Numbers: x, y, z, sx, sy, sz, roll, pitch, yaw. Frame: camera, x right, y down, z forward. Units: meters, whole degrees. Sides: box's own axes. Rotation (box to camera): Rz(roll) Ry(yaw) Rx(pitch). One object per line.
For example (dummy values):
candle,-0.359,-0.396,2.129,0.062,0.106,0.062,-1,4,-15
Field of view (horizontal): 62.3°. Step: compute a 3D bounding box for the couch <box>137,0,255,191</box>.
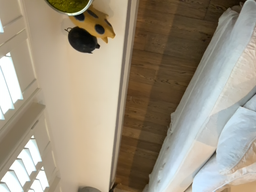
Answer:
couch,0.700,0.520,1.660,0.930,0.810,2.390,14,132,3
